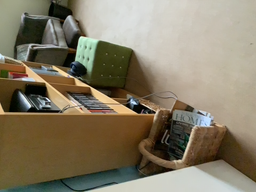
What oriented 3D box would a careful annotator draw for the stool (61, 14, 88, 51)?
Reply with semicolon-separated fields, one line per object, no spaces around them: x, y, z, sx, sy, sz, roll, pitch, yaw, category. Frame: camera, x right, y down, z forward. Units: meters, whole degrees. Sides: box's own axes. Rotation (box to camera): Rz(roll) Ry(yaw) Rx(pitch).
-0.680;-0.790;2.650;0.230;0.180;0.390;-52;49;35;stool

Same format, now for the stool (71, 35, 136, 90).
-0.230;-0.300;1.910;0.380;0.380;0.380;27;108;50;stool
